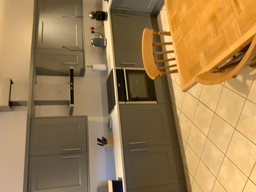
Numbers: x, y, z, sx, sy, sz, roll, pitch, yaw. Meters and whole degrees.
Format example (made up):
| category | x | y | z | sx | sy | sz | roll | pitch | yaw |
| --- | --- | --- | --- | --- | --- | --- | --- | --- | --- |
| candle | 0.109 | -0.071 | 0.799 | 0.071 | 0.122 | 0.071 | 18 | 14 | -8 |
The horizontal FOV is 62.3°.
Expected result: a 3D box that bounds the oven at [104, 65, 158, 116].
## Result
| category | x | y | z | sx | sy | sz | roll | pitch | yaw |
| --- | --- | --- | --- | --- | --- | --- | --- | --- | --- |
| oven | 0.010 | -0.070 | 3.400 | 0.620 | 0.640 | 0.600 | 129 | 137 | -64 |
